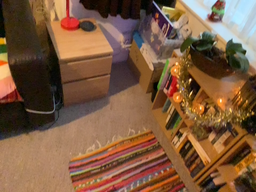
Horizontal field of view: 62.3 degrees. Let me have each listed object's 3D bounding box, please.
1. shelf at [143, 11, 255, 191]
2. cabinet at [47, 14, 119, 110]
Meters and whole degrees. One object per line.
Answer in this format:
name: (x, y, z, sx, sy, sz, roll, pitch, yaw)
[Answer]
shelf: (0.650, 0.260, 1.220, 0.410, 0.740, 1.510, -11, 53, -21)
cabinet: (-0.360, -0.270, 1.640, 0.380, 0.480, 0.500, -11, 53, -21)
